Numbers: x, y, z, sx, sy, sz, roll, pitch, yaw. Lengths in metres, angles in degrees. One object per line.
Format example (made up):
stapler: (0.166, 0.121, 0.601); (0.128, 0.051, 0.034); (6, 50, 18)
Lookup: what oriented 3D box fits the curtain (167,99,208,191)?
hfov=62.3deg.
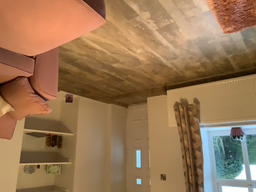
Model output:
curtain: (0.840, 1.020, 2.950); (0.420, 1.900, 0.270); (-9, 162, 32)
